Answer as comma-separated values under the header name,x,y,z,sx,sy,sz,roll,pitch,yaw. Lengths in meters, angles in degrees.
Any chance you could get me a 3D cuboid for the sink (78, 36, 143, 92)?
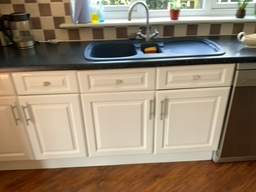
name,x,y,z,sx,sy,sz,roll,pitch,yaw
sink,-0.120,-0.260,1.590,0.400,0.250,0.500,-2,28,-2
